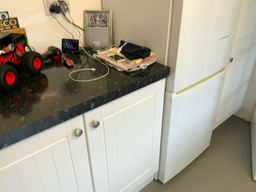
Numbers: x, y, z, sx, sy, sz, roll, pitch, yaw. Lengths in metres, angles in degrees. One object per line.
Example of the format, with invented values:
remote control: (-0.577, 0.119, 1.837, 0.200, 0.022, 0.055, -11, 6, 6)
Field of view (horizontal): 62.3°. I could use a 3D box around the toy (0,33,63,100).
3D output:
toy: (-0.520, -0.150, 0.960, 0.310, 0.160, 0.300, -24, 38, -34)
